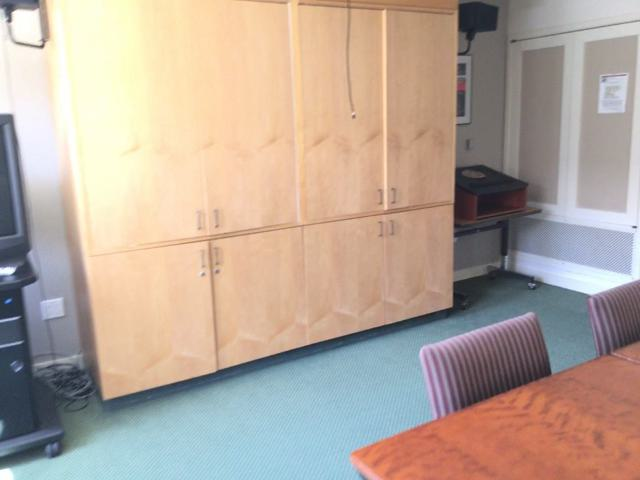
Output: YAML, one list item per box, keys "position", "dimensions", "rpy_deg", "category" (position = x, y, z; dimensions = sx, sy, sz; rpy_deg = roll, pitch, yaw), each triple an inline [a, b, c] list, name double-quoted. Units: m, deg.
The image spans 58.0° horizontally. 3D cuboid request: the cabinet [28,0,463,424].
- position: [-0.280, -0.410, 3.420]
  dimensions: [2.310, 2.200, 0.730]
  rpy_deg: [-9, 14, -30]
  category: "cabinet"
